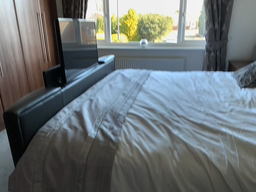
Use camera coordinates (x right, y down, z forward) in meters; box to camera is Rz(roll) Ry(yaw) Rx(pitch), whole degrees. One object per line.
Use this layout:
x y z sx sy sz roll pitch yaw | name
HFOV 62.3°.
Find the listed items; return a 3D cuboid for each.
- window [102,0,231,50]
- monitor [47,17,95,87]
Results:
0.540 -1.460 3.270 1.900 1.410 0.220 4 21 13 | window
-0.420 -0.400 1.740 0.050 0.460 0.690 3 20 10 | monitor
